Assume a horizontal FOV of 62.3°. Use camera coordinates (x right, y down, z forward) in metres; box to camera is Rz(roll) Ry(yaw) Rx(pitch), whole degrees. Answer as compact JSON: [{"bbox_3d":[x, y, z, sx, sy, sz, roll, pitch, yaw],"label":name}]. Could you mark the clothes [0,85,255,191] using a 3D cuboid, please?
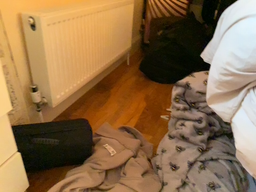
[{"bbox_3d":[0.020,0.260,0.810,0.970,0.120,0.920,-6,31,-16],"label":"clothes"}]
